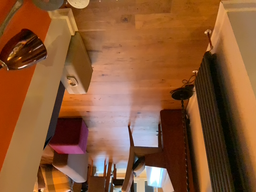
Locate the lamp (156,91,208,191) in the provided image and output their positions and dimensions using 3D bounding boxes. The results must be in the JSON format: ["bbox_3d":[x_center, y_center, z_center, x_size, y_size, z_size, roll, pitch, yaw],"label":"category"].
[{"bbox_3d":[0.540,0.640,2.260,0.370,1.380,0.430,0,148,2],"label":"lamp"}]

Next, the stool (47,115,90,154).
[{"bbox_3d":[-0.890,0.600,3.260,0.440,0.440,0.500,-2,148,4],"label":"stool"}]

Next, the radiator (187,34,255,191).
[{"bbox_3d":[0.660,0.450,1.420,0.180,1.830,0.580,0,148,2],"label":"radiator"}]
